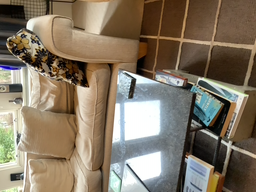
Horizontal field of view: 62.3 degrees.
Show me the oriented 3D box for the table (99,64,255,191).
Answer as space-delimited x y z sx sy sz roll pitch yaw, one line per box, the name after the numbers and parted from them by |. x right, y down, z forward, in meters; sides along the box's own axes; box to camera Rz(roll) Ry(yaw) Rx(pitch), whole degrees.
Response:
0.160 0.580 1.180 0.550 0.430 1.420 29 116 53 | table

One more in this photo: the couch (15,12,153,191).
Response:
-0.530 0.460 1.960 0.960 0.770 2.190 29 117 53 | couch
